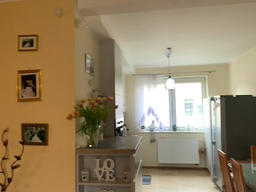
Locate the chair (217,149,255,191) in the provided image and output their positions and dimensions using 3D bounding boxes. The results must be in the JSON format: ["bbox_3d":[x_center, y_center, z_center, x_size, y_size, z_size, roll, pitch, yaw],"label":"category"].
[{"bbox_3d":[1.450,1.180,2.650,0.480,0.920,0.450,-1,-3,7],"label":"chair"}]

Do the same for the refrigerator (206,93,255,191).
[{"bbox_3d":[1.990,0.840,4.060,0.700,1.730,0.890,-1,-3,7],"label":"refrigerator"}]
